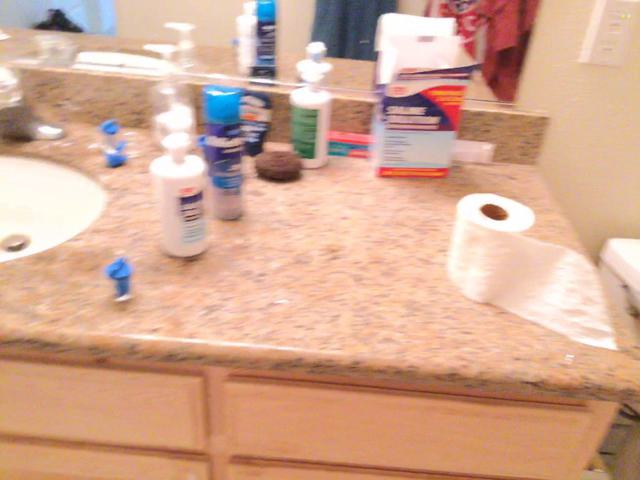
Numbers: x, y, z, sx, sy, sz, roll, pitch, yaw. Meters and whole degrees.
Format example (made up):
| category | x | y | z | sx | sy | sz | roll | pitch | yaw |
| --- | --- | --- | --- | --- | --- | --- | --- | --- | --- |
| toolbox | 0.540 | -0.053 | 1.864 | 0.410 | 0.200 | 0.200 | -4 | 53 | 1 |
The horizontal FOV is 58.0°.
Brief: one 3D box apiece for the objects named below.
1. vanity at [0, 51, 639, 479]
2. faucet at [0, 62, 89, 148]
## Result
| category | x | y | z | sx | sy | sz | roll | pitch | yaw |
| --- | --- | --- | --- | --- | --- | --- | --- | --- | --- |
| vanity | -0.320 | 0.210 | 1.040 | 1.380 | 0.890 | 0.550 | 6 | 31 | 0 |
| faucet | -0.530 | -0.250 | 1.060 | 0.140 | 0.100 | 0.150 | 6 | 31 | 0 |
